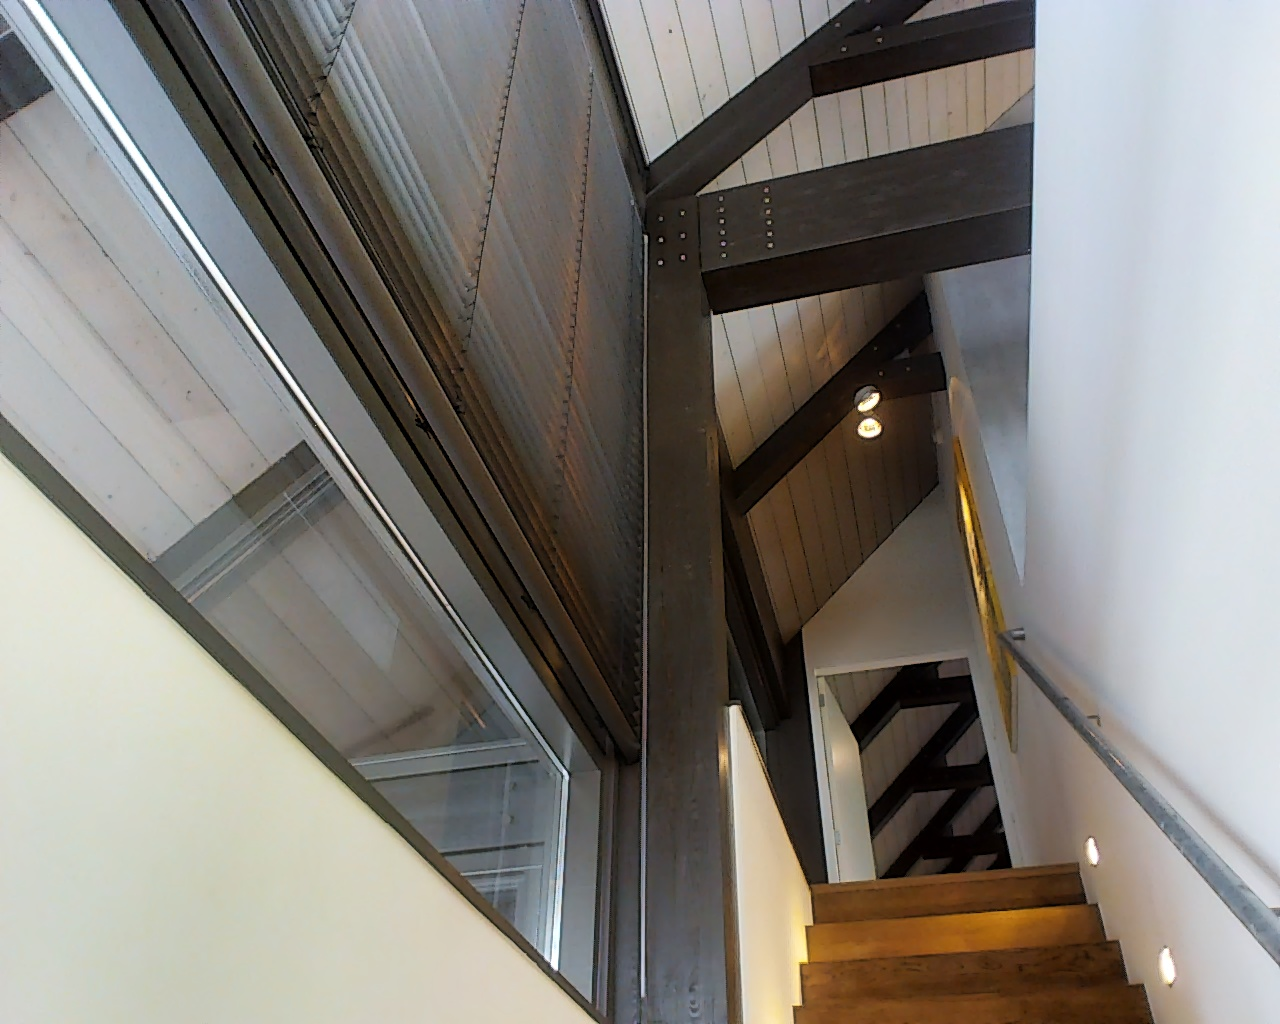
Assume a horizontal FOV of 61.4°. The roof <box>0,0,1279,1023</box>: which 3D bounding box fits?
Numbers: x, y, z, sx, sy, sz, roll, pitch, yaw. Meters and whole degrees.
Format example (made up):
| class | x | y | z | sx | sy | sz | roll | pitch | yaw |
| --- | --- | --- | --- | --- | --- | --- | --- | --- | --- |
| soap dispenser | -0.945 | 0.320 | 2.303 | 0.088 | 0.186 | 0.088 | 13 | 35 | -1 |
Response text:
| class | x | y | z | sx | sy | sz | roll | pitch | yaw |
| --- | --- | --- | --- | --- | --- | --- | --- | --- | --- |
| roof | 0.900 | -0.980 | 5.010 | 7.297 | 4.651 | 7.541 | -9 | -41 | 12 |
